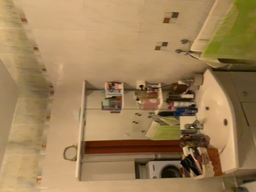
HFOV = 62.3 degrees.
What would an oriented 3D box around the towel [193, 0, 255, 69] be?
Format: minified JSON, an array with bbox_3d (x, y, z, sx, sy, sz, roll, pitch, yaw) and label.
[{"bbox_3d":[0.860,-0.430,1.350,0.690,0.640,0.120,101,167,-60],"label":"towel"}]
